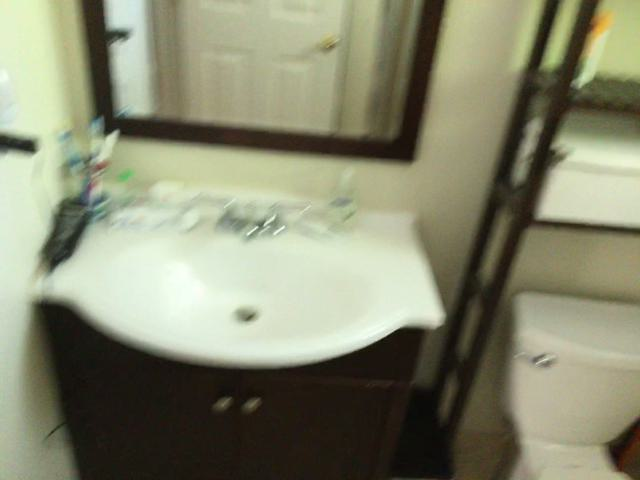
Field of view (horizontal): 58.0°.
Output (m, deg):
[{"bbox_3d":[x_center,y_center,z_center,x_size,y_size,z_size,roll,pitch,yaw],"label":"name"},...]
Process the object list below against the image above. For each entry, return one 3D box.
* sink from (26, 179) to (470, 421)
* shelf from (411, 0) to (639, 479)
[{"bbox_3d":[-0.120,0.100,1.200,0.740,0.180,0.450,7,32,-3],"label":"sink"},{"bbox_3d":[0.740,-0.070,1.240,0.750,1.540,0.250,7,32,-3],"label":"shelf"}]
